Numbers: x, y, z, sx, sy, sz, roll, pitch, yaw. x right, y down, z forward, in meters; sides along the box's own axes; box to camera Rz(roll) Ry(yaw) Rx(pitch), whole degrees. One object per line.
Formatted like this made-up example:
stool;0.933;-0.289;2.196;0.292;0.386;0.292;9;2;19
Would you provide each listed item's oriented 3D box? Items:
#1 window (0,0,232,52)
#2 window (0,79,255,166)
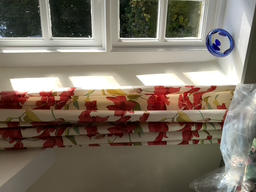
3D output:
window;-0.100;-0.660;1.040;0.280;1.260;0.830;-121;30;-66
window;0.080;0.090;0.970;0.170;1.870;0.250;-120;30;-65
